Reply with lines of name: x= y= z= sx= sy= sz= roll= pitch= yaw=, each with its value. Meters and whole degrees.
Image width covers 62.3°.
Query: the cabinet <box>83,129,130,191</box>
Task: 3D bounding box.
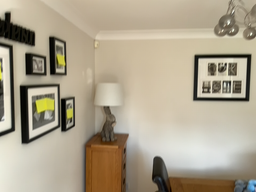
cabinet: x=-0.220 y=0.960 z=2.480 sx=0.420 sy=1.020 sz=0.560 roll=1 pitch=5 yaw=7
